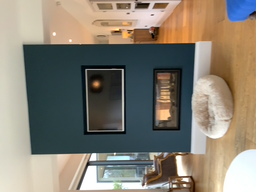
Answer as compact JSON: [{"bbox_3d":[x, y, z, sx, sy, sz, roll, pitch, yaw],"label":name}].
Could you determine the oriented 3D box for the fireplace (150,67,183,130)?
[{"bbox_3d":[0.580,0.030,3.300,0.290,0.430,0.950,-97,7,-81],"label":"fireplace"}]

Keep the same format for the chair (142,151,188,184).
[{"bbox_3d":[0.740,1.470,4.450,0.610,0.830,0.590,95,175,-78],"label":"chair"}]

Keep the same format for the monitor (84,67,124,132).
[{"bbox_3d":[-0.350,0.060,3.160,0.030,0.580,0.960,-97,7,-81],"label":"monitor"}]
